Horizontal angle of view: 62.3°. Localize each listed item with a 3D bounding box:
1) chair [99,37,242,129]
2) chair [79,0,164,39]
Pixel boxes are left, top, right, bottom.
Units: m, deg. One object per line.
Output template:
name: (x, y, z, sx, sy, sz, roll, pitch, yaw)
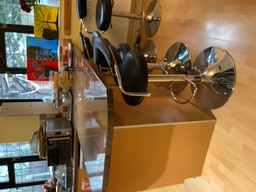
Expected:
chair: (0.260, -0.120, 1.540, 0.480, 0.820, 0.480, -133, 46, -60)
chair: (-0.090, -0.950, 2.400, 0.400, 0.830, 0.370, 110, 151, -42)
